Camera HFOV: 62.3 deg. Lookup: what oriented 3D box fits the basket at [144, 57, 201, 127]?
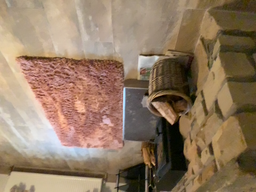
[{"bbox_3d":[0.300,-0.030,1.550,0.320,0.380,0.300,5,143,1],"label":"basket"}]
